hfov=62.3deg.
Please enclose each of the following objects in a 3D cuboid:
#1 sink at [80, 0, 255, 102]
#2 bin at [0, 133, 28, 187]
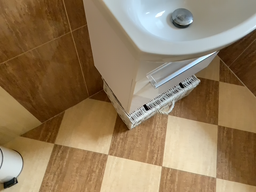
[{"bbox_3d":[0.170,-0.280,0.610,0.500,0.150,0.370,-30,73,-16],"label":"sink"},{"bbox_3d":[-0.630,0.300,0.980,0.170,0.250,0.190,-33,74,-17],"label":"bin"}]
